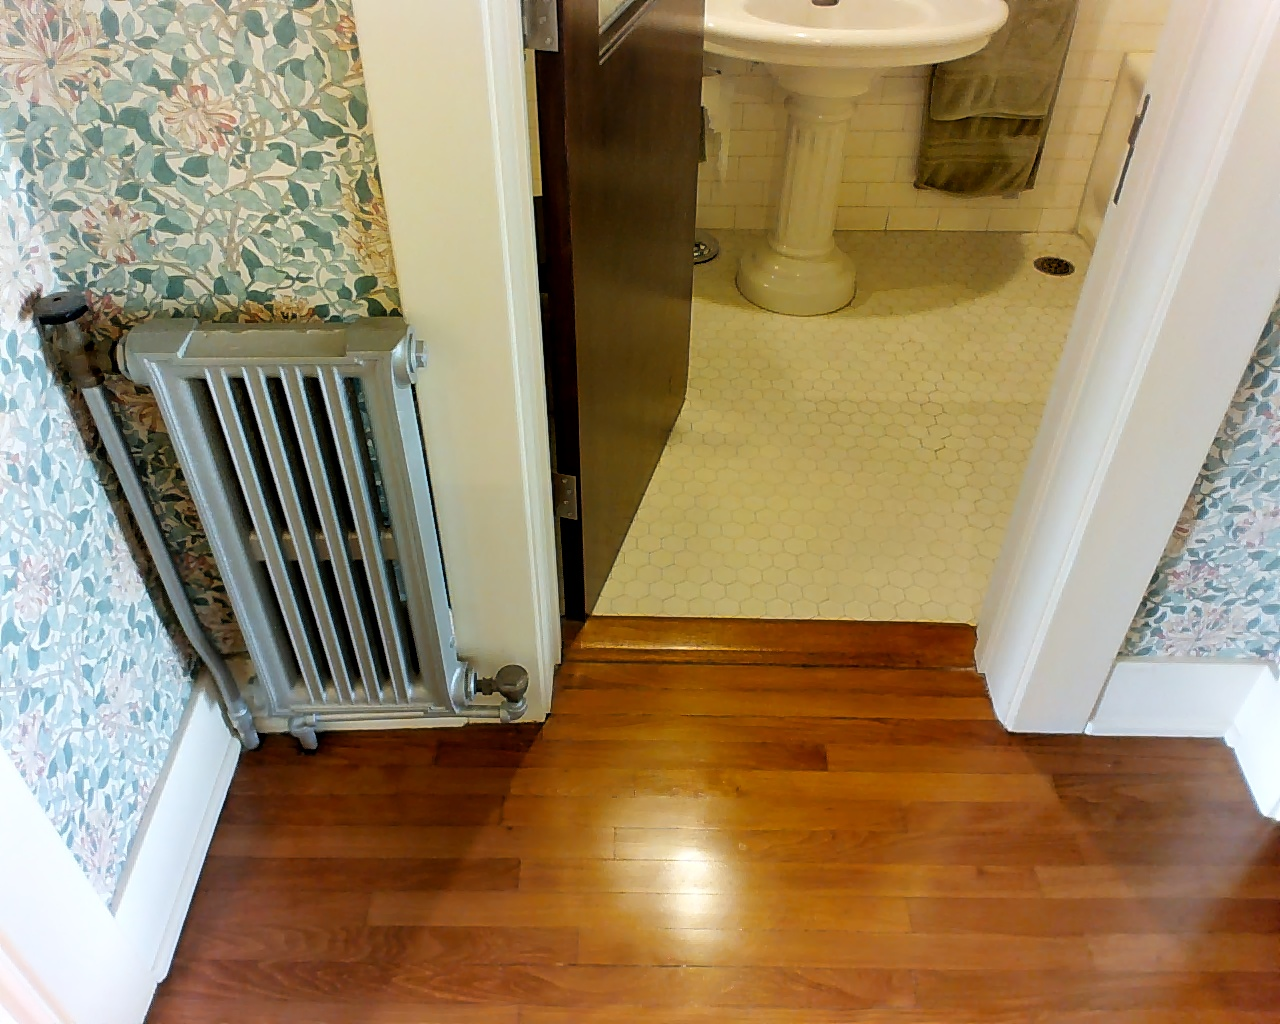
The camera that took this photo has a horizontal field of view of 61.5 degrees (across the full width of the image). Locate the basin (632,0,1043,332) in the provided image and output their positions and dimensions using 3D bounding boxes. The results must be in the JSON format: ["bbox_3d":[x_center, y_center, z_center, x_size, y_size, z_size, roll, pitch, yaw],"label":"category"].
[{"bbox_3d":[0.430,-0.990,2.830,0.890,0.790,0.630,1,42,0],"label":"basin"}]
